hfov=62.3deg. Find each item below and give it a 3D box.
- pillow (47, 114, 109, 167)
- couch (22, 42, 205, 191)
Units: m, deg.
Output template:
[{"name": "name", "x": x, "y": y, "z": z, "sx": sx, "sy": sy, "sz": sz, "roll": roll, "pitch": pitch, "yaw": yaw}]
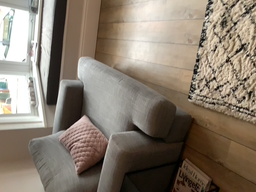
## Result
[{"name": "pillow", "x": -0.400, "y": 0.350, "z": 1.850, "sx": 0.610, "sy": 0.320, "sz": 0.160, "roll": -61, "pitch": -19, "yaw": -76}, {"name": "couch", "x": -0.320, "y": 0.290, "z": 1.880, "sx": 1.380, "sy": 0.850, "sz": 1.170, "roll": 33, "pitch": 115, "yaw": 50}]
